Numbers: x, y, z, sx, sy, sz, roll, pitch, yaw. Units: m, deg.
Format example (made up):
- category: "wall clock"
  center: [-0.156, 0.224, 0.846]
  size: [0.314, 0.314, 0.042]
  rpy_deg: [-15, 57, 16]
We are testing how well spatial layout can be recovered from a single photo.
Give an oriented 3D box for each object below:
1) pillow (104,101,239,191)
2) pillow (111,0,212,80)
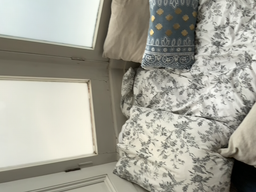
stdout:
- category: "pillow"
  center: [0.140, 0.300, 1.020]
  size: [0.160, 0.400, 0.600]
  rpy_deg: [16, -177, -34]
- category: "pillow"
  center: [0.190, -0.350, 1.050]
  size: [0.470, 0.310, 0.130]
  rpy_deg: [40, 170, -36]
